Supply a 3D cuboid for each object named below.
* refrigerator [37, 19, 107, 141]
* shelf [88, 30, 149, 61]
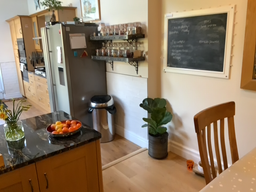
[{"bbox_3d":[-0.940,-0.310,3.630,0.680,1.790,0.920,-13,19,-38],"label":"refrigerator"},{"bbox_3d":[-0.170,-0.730,3.030,0.320,0.360,1.000,-13,19,-37],"label":"shelf"}]
